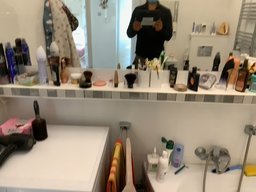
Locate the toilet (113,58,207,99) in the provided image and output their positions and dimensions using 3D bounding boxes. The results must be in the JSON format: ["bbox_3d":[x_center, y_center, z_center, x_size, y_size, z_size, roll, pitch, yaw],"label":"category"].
[{"bbox_3d":[0.160,-0.100,1.190,0.480,0.180,0.160,1,22,-1],"label":"toilet"}]
